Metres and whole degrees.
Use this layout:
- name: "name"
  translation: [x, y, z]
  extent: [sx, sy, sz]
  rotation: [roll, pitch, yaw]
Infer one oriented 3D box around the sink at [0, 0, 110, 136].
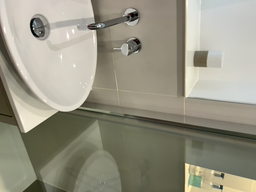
- name: "sink"
  translation: [-0.250, -0.220, 0.700]
  extent: [0.370, 0.130, 0.570]
  rotation: [-44, 135, -52]
